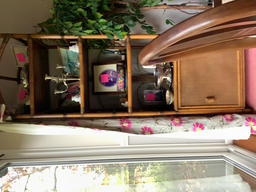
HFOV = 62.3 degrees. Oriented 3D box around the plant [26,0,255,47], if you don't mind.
[{"bbox_3d":[0.120,-0.790,1.780,0.560,1.670,0.620,-163,72,-86],"label":"plant"}]
